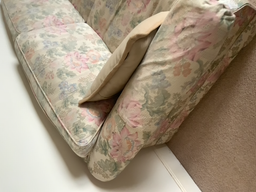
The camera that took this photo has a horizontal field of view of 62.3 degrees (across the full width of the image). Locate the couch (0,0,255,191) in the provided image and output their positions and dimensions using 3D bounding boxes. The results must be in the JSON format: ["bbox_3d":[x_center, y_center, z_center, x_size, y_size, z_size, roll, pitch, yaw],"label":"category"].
[{"bbox_3d":[-0.280,-0.610,1.370,2.010,0.770,0.900,55,128,31],"label":"couch"}]
